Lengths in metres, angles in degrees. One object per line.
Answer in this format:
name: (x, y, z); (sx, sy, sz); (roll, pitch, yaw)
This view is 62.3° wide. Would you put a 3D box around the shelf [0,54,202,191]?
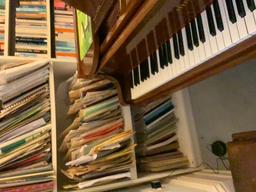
shelf: (-0.500, 0.220, 1.400); (0.440, 2.050, 0.830); (-26, 67, 61)
